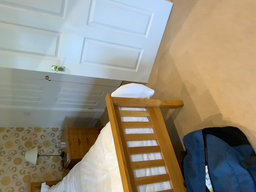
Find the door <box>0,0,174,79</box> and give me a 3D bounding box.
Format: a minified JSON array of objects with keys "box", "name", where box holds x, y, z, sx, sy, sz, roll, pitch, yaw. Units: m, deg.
[{"box":[-0.540,-0.600,1.730,0.040,1.950,0.780,54,132,51],"name":"door"}]
